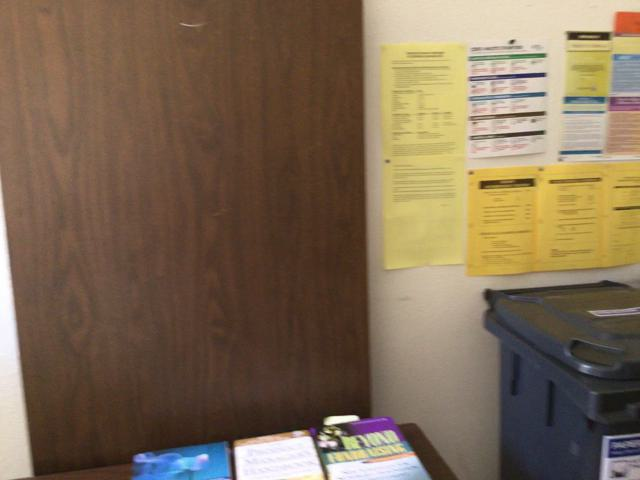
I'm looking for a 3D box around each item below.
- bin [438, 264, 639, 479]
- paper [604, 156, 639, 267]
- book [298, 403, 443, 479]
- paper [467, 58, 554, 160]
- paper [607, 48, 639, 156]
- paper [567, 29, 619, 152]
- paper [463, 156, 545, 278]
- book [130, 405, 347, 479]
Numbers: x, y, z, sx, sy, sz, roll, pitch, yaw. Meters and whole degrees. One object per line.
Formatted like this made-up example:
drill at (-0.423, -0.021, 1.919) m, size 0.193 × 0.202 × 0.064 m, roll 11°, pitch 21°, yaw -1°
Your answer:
bin at (0.670, 0.660, 1.370) m, size 0.540 × 1.060 × 0.580 m, roll -6°, pitch 10°, yaw -11°
paper at (0.850, -0.080, 1.530) m, size 0.190 × 0.280 × 0.040 m, roll -6°, pitch 10°, yaw -11°
book at (0.090, 0.450, 1.200) m, size 0.220 × 0.060 × 0.310 m, roll -6°, pitch 10°, yaw -11°
paper at (0.470, -0.320, 1.420) m, size 0.210 × 0.230 × 0.030 m, roll -6°, pitch 10°, yaw -11°
paper at (0.800, -0.350, 1.470) m, size 0.130 × 0.260 × 0.030 m, roll -6°, pitch 10°, yaw -11°
paper at (0.680, -0.370, 1.440) m, size 0.130 × 0.290 × 0.020 m, roll -6°, pitch 10°, yaw -11°
paper at (0.470, -0.060, 1.470) m, size 0.200 × 0.290 × 0.040 m, roll -6°, pitch 10°, yaw -11°
book at (-0.170, 0.460, 1.160) m, size 0.390 × 0.070 × 0.310 m, roll -6°, pitch 10°, yaw -11°
